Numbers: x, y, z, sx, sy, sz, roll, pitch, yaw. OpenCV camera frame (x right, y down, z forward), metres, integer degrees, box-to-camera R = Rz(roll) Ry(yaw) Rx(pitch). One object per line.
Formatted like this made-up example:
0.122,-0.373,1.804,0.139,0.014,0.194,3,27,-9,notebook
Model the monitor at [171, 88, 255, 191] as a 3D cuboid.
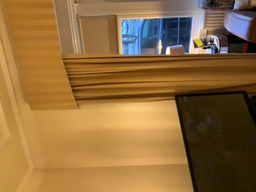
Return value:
0.840,0.470,1.810,0.070,0.760,1.200,91,177,-60,monitor
